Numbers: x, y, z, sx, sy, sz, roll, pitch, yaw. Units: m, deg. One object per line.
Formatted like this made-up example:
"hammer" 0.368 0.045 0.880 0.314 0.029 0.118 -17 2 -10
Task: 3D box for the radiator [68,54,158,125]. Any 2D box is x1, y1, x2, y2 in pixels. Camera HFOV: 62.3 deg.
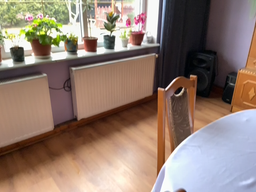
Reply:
"radiator" -0.120 -0.130 2.710 1.240 0.620 0.160 -18 30 -36
